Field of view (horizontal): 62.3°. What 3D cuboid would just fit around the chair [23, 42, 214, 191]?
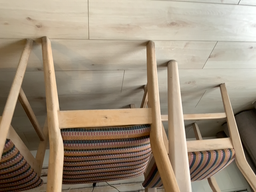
[{"bbox_3d":[-0.080,0.260,0.930,0.520,0.840,0.560,-3,143,-11],"label":"chair"}]
